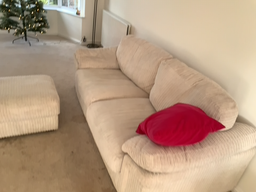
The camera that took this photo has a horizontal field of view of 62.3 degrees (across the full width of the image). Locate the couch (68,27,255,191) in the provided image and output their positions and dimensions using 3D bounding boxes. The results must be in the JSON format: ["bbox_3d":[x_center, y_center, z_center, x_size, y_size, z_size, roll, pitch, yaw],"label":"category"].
[{"bbox_3d":[0.080,0.000,2.160,1.040,0.820,2.040,-4,32,-23],"label":"couch"}]

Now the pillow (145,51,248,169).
[{"bbox_3d":[0.470,0.040,1.780,0.240,0.490,0.980,-16,34,-13],"label":"pillow"}]
